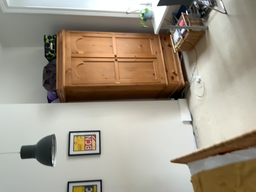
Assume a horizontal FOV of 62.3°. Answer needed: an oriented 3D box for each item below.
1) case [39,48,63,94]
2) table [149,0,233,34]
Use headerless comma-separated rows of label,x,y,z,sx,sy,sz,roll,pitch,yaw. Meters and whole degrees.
case,-1.180,-0.370,3.310,0.480,0.260,0.560,120,148,-69
table,0.760,-1.330,2.470,1.000,0.750,0.630,112,155,-64
